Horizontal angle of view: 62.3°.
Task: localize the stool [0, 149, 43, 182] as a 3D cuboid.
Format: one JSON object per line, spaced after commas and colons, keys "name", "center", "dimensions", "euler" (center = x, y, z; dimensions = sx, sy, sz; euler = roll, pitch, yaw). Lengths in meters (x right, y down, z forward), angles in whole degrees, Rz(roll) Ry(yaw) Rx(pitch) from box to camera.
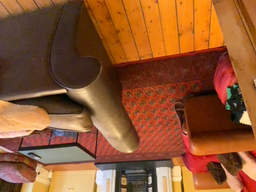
{"name": "stool", "center": [-2.320, 1.450, 4.380], "dimensions": [0.700, 0.450, 0.680], "euler": [-9, 146, 14]}
